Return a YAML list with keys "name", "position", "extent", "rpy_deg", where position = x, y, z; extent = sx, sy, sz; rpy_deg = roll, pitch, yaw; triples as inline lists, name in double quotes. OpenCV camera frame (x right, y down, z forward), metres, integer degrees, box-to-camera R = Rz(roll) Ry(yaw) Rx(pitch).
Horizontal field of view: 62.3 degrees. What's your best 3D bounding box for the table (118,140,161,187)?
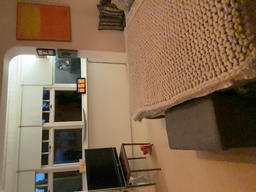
- name: "table"
  position: [0.160, 1.060, 3.390]
  extent: [0.530, 0.490, 0.410]
  rpy_deg: [-112, 27, -53]
